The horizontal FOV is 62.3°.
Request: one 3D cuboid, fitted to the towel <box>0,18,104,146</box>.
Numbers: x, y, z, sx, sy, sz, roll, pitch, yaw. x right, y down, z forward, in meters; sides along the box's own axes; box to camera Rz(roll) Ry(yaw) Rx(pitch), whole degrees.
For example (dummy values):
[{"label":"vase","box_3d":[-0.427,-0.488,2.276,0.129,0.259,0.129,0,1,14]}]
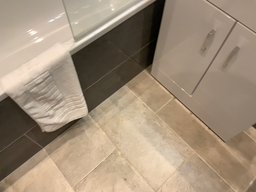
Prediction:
[{"label":"towel","box_3d":[-0.300,-0.010,0.940,0.310,0.550,0.170,-39,70,-19]}]
